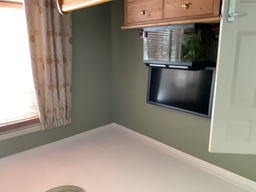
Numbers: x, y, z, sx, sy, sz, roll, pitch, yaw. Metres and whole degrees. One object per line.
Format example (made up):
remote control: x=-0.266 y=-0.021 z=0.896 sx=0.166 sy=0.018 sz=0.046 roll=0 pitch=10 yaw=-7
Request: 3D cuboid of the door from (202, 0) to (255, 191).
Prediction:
door: x=1.080 y=-0.330 z=1.620 sx=0.800 sy=2.410 sz=0.110 roll=1 pitch=-166 yaw=3
